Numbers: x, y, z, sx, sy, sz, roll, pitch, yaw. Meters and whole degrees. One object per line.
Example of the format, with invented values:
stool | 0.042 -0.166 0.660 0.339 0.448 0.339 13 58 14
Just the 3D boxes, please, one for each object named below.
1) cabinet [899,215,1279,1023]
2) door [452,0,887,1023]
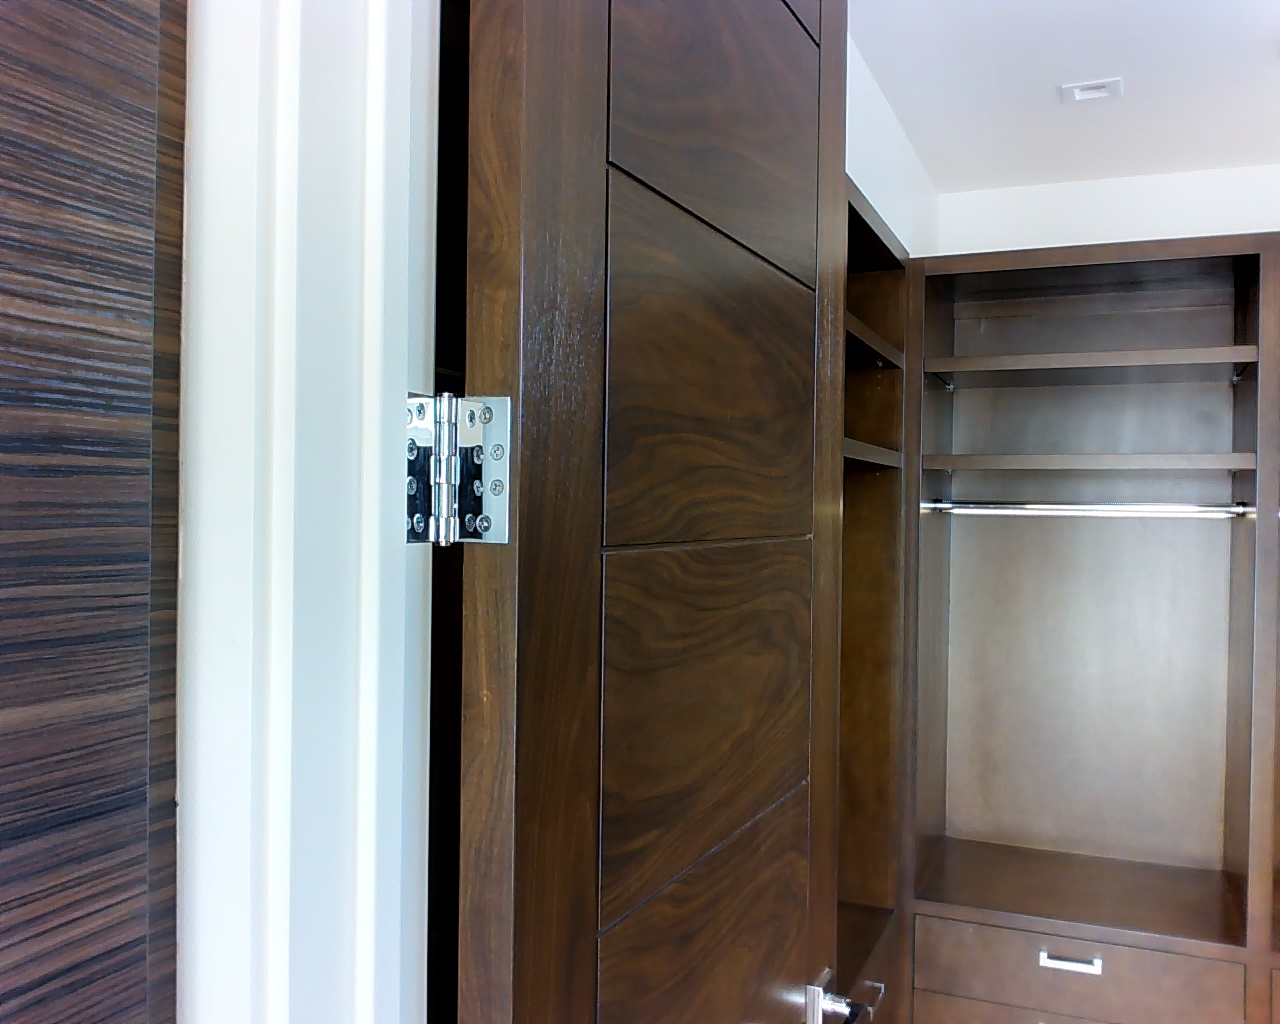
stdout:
cabinet | 1.590 0.430 2.800 1.660 2.240 0.630 1 1 23
door | 0.100 0.290 1.110 0.040 2.530 0.910 1 1 27
